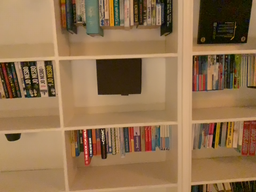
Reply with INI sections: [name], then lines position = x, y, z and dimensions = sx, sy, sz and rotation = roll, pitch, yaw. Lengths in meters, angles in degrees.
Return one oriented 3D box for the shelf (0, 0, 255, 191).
[shelf]
position = -0.350, -0.020, 1.200
dimensions = 3.780, 1.840, 0.400
rotation = -2, -170, -3
